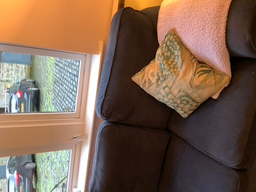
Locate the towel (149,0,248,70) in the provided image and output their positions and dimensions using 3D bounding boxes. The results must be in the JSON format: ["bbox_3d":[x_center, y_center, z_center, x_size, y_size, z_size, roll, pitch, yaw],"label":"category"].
[{"bbox_3d":[0.350,-0.380,1.120,0.380,0.210,0.400,31,114,53],"label":"towel"}]
